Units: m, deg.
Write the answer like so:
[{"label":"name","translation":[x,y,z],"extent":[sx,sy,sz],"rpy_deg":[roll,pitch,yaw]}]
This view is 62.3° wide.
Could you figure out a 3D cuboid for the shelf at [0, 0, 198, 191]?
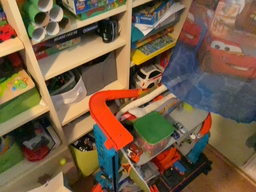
[{"label":"shelf","translation":[-0.260,-0.220,0.960],"extent":[1.220,1.600,0.420],"rpy_deg":[-31,56,-27]}]
